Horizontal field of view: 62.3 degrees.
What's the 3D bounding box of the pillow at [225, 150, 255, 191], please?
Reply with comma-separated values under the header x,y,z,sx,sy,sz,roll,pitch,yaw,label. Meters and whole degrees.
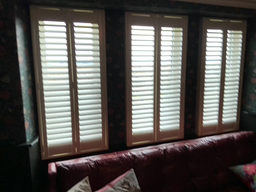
x,y,z,sx,sy,sz,roll,pitch,yaw,label
1.240,0.760,1.990,0.400,0.310,0.410,-4,10,-19,pillow
